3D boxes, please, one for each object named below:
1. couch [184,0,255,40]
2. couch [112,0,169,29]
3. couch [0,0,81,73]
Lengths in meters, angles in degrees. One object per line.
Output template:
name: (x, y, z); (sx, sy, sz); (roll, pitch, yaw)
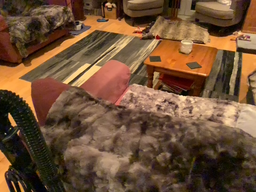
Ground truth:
couch: (1.550, -1.480, 3.580); (0.750, 0.690, 0.790); (-20, 41, -23)
couch: (0.220, -1.820, 4.040); (0.820, 0.710, 0.780); (-15, 40, -18)
couch: (-1.610, -1.200, 3.080); (1.020, 0.930, 1.520); (15, 40, 19)
